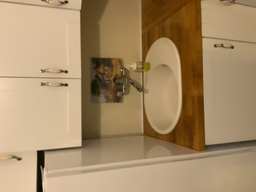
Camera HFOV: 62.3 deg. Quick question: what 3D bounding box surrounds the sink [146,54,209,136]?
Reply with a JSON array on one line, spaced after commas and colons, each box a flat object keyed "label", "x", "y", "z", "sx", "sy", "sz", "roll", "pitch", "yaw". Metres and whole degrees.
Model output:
[{"label": "sink", "x": 0.290, "y": 0.000, "z": 1.350, "sx": 0.410, "sy": 0.180, "sz": 0.440, "roll": 174, "pitch": 95, "yaw": -68}]
